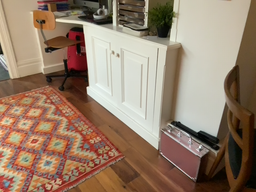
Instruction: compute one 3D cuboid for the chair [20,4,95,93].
[{"bbox_3d":[-0.810,-0.600,2.600,0.490,0.890,0.570,18,33,27],"label":"chair"}]
